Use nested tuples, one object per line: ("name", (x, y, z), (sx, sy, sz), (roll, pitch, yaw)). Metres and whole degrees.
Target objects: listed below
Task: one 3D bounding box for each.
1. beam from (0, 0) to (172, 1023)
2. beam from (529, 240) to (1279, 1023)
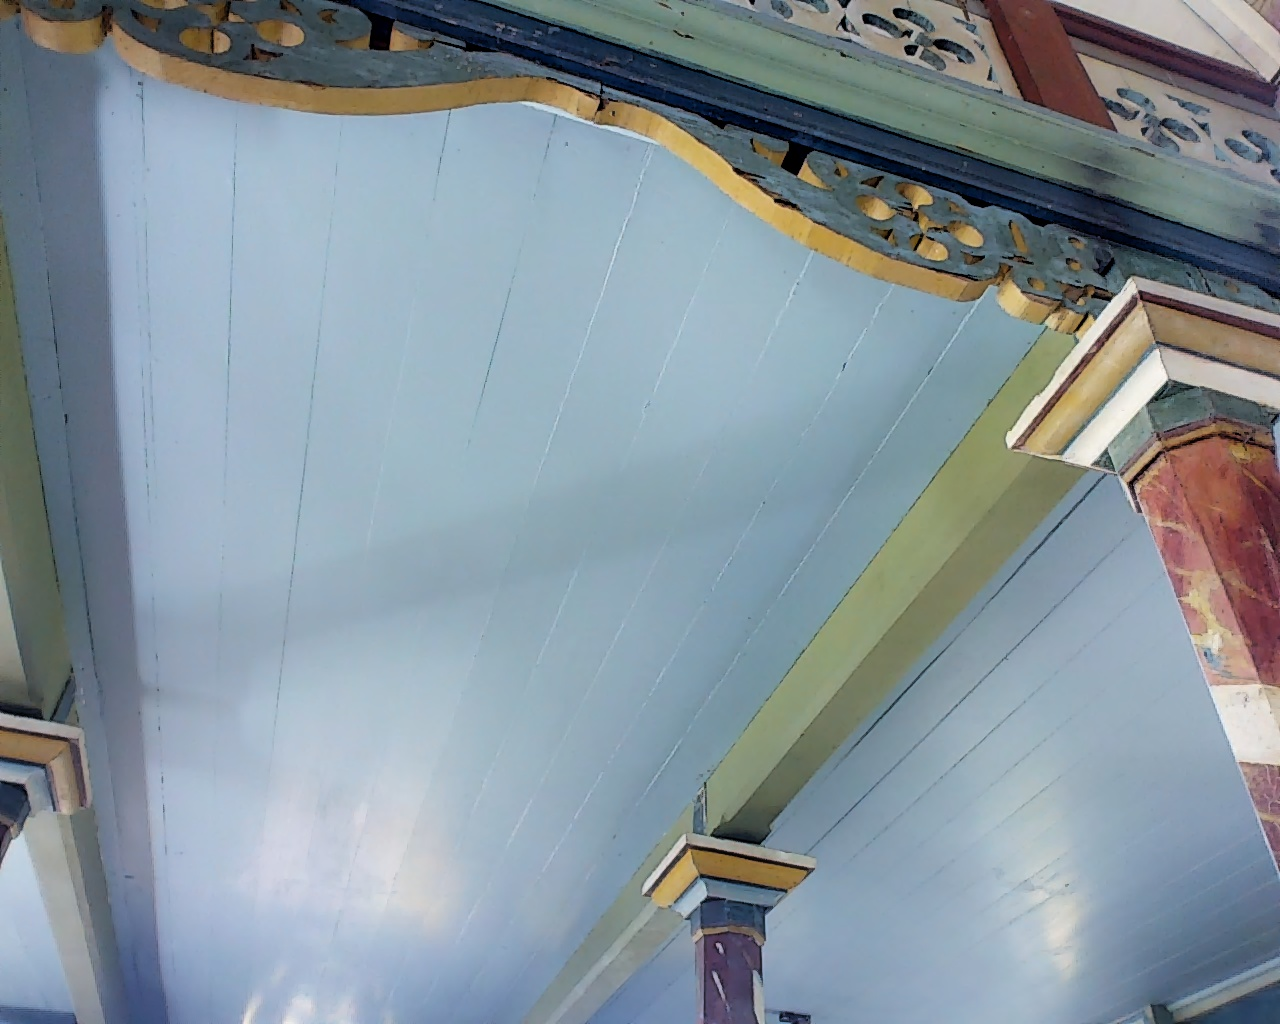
("beam", (-1.560, 0.870, 3.000), (0.270, 0.200, 4.940), (12, -43, -11))
("beam", (0.100, 1.250, 3.310), (0.280, 0.200, 4.880), (12, -43, -11))
